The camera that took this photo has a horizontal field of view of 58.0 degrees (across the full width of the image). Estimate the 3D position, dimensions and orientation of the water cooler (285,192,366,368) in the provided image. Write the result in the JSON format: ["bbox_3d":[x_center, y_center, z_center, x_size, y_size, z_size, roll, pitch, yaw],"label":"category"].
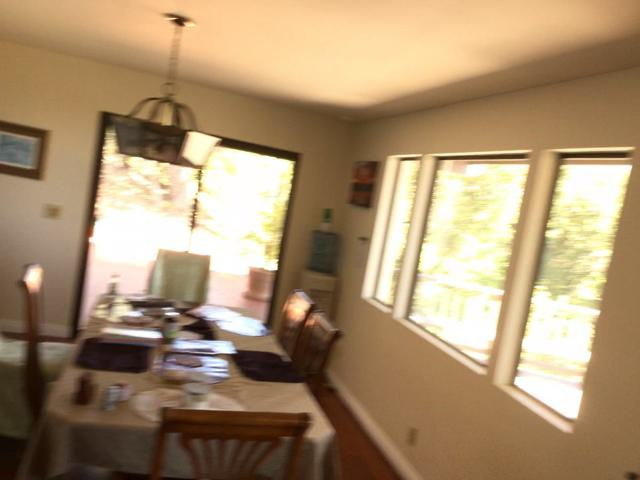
[{"bbox_3d":[0.040,0.360,5.360,0.350,1.550,0.370,11,4,-17],"label":"water cooler"}]

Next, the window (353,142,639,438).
[{"bbox_3d":[0.850,0.070,3.530,0.290,1.200,2.450,11,4,-17],"label":"window"}]
